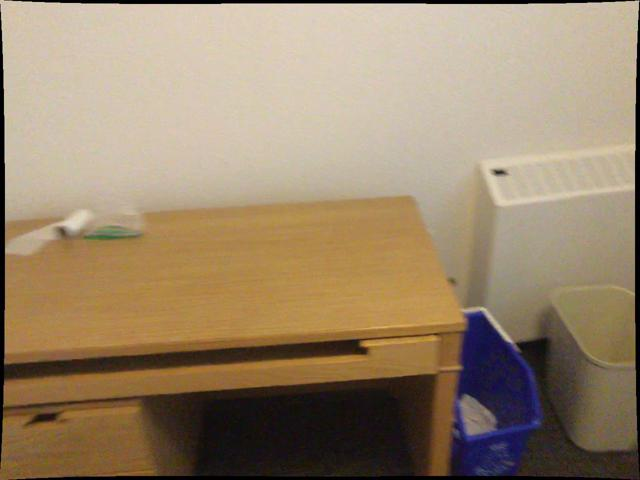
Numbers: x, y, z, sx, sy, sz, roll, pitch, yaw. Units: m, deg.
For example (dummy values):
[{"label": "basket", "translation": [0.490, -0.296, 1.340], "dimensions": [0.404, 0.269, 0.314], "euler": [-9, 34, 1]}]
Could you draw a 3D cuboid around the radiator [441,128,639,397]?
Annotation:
[{"label": "radiator", "translation": [0.958, 0.060, 2.020], "dimensions": [0.969, 0.781, 0.210], "euler": [-14, 27, -4]}]

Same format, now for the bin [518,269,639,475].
[{"label": "bin", "translation": [0.849, 0.401, 1.830], "dimensions": [0.290, 0.400, 0.460], "euler": [-8, 28, 3]}]

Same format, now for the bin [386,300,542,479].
[{"label": "bin", "translation": [0.419, 0.481, 1.770], "dimensions": [0.300, 0.370, 0.430], "euler": [-11, 27, -6]}]
